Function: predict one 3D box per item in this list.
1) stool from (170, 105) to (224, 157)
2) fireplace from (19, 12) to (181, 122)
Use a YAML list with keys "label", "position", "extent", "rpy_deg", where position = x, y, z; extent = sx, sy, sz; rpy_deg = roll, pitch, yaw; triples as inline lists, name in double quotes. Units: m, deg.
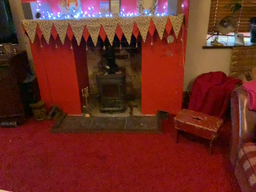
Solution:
- label: "stool"
  position: [0.720, 0.350, 2.240]
  extent: [0.430, 0.300, 0.320]
  rpy_deg: [17, 31, 33]
- label: "fireplace"
  position: [-0.270, -0.410, 2.830]
  extent: [1.720, 1.250, 0.770]
  rpy_deg: [0, 25, 5]
